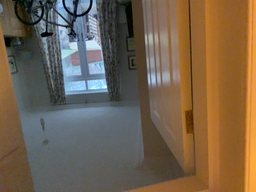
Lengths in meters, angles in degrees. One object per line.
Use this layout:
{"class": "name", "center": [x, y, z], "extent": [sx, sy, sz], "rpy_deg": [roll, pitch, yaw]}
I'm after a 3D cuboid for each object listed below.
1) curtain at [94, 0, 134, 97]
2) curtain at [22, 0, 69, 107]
{"class": "curtain", "center": [-0.310, -1.320, 4.750], "extent": [0.640, 2.660, 0.300], "rpy_deg": [-3, -166, 8]}
{"class": "curtain", "center": [-1.940, -1.130, 5.020], "extent": [0.580, 2.780, 0.290], "rpy_deg": [-3, -166, 8]}
